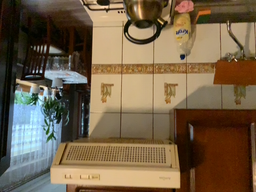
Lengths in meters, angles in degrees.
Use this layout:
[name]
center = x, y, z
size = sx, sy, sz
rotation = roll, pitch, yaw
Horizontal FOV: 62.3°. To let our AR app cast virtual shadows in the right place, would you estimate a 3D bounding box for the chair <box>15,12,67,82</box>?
[chair]
center = -1.350, -0.730, 3.360
size = 0.520, 0.950, 0.510
rotation = 0, 174, 11
